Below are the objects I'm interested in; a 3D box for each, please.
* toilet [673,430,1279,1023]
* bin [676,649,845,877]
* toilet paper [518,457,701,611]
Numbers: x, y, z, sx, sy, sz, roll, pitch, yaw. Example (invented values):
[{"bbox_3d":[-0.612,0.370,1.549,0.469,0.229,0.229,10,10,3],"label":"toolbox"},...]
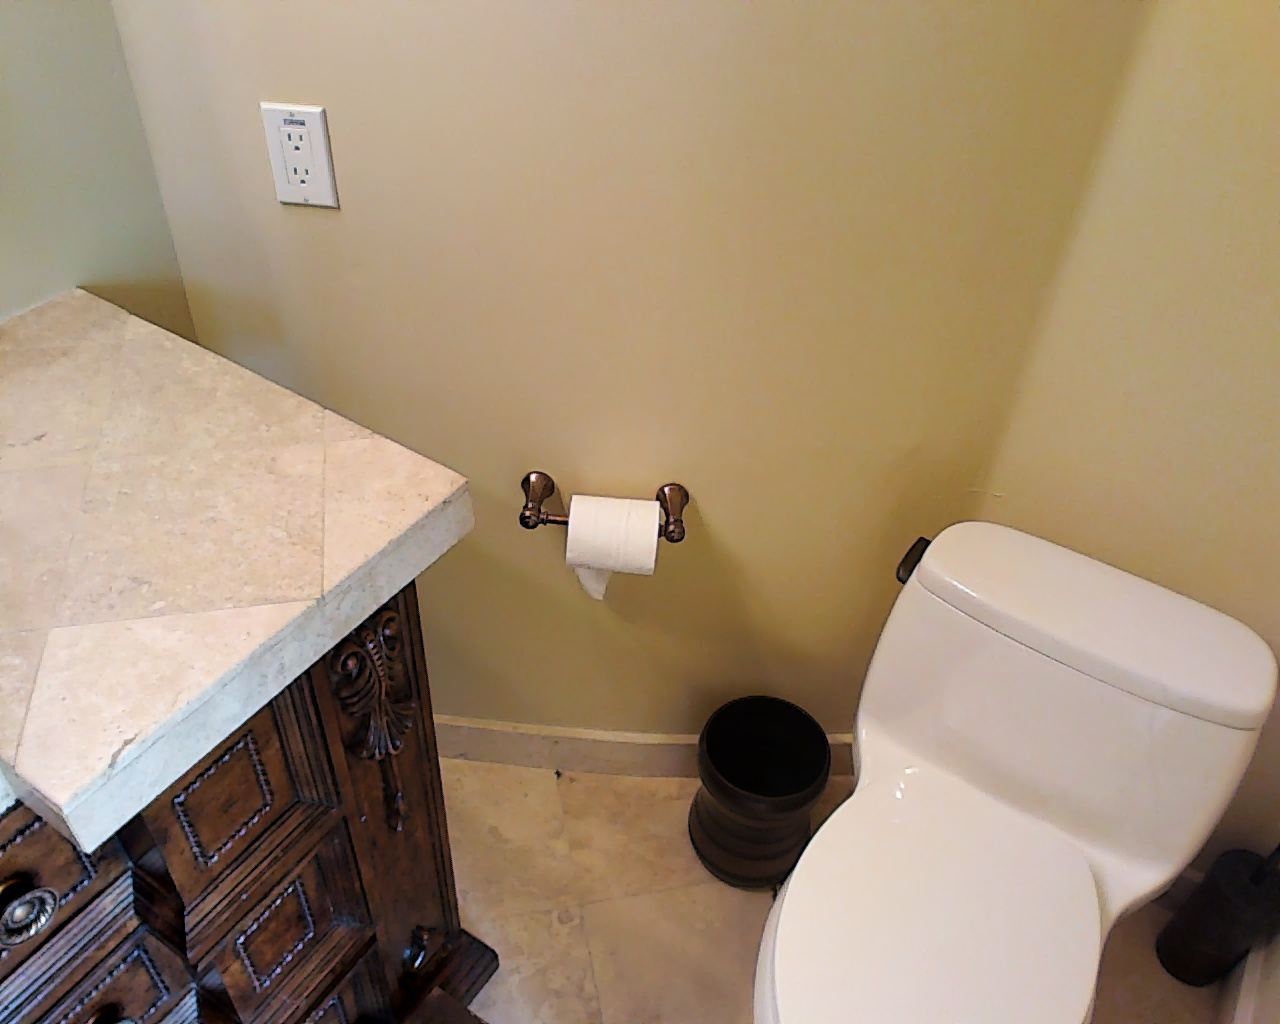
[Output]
[{"bbox_3d":[0.450,0.430,1.380,0.500,0.680,0.700,25,47,21],"label":"toilet"},{"bbox_3d":[0.180,0.400,1.700,0.220,0.280,0.220,4,43,0],"label":"bin"},{"bbox_3d":[-0.040,0.030,1.440,0.230,0.150,0.120,4,43,0],"label":"toilet paper"}]
